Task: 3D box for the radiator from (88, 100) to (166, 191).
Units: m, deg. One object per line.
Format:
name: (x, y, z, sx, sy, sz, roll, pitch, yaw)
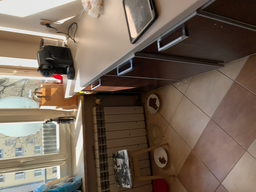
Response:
radiator: (0.000, 0.570, 2.180, 0.150, 0.700, 1.060, -28, 66, 55)
